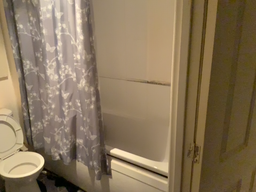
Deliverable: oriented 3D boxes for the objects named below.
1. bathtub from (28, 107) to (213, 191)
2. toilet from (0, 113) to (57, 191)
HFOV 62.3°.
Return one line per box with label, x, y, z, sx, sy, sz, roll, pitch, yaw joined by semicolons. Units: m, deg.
bathtub;-0.140;0.650;2.150;1.710;0.570;0.700;11;22;32
toilet;-1.070;0.640;1.940;0.680;0.760;0.390;10;22;31
